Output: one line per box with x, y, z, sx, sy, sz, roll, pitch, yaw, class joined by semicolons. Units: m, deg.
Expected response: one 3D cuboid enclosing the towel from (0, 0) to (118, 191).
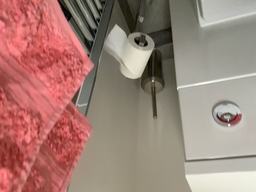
-0.100;0.050;0.140;0.080;0.330;0.230;-9;139;17;towel
